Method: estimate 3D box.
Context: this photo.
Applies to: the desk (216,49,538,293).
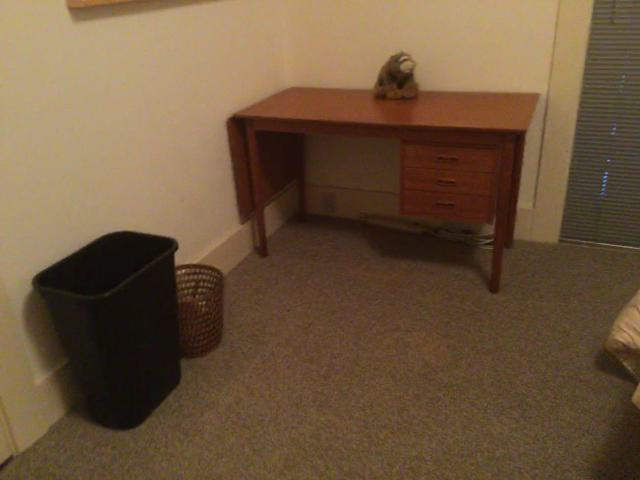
[{"bbox_3d":[0.270,-0.340,2.500,1.170,0.810,0.590,6,27,22],"label":"desk"}]
